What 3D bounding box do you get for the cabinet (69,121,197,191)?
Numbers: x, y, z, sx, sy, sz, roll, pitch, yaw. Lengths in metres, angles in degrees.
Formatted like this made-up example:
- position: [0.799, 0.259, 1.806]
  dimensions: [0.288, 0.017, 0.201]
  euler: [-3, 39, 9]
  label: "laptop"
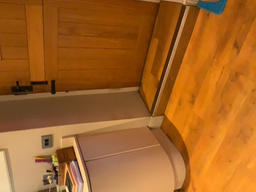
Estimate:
- position: [0.010, 0.610, 1.890]
  dimensions: [0.620, 0.910, 0.340]
  euler: [54, 140, 47]
  label: "cabinet"
